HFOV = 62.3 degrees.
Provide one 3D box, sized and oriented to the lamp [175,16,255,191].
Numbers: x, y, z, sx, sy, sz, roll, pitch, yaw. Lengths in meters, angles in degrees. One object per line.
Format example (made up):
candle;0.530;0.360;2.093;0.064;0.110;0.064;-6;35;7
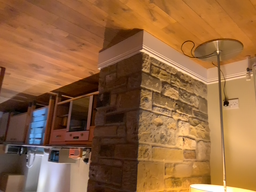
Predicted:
lamp;0.780;0.290;1.640;0.700;1.480;0.510;16;161;-41

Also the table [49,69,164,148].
table;-0.370;0.290;3.050;0.720;0.820;1.640;17;160;-42
